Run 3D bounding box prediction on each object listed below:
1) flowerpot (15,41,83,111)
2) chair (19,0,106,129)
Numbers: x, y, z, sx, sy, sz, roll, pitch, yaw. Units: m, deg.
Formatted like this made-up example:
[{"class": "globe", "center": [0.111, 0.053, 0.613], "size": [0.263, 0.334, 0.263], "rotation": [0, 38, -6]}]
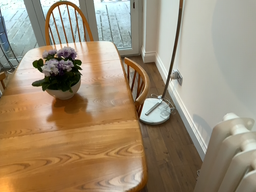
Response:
[{"class": "flowerpot", "center": [-0.380, -0.110, 1.100], "size": [0.240, 0.240, 0.260], "rotation": [-5, 40, -3]}, {"class": "chair", "center": [-0.480, -0.250, 1.820], "size": [0.440, 0.960, 0.480], "rotation": [-8, 40, -6]}]
